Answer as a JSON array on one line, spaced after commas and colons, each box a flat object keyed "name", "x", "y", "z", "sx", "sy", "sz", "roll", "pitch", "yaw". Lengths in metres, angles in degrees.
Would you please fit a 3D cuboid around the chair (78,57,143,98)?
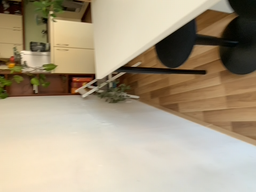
[{"name": "chair", "x": -0.250, "y": -0.260, "z": 2.860, "sx": 0.480, "sy": 0.740, "sz": 0.490, "roll": -160, "pitch": 71, "yaw": -63}]

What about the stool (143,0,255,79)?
[{"name": "stool", "x": 0.490, "y": -0.340, "z": 1.310, "sx": 0.400, "sy": 0.660, "sz": 0.400, "roll": 165, "pitch": 102, "yaw": -64}]
